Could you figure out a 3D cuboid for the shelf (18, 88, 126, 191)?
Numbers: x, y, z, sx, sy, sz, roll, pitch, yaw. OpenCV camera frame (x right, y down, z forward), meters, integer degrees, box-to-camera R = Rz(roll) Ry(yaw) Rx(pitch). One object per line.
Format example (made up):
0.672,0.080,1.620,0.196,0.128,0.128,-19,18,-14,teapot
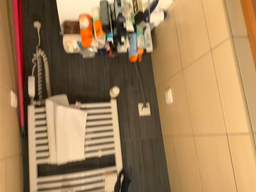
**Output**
-0.310,0.360,1.220,0.520,0.750,0.210,-5,170,-14,shelf
